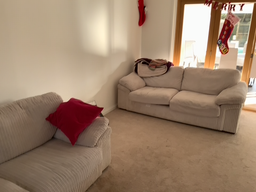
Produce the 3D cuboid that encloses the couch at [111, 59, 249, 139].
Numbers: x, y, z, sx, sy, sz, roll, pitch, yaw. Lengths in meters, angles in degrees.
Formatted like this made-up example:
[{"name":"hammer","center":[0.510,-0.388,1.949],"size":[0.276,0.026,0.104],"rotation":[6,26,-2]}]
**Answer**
[{"name":"couch","center":[0.890,-0.090,3.840],"size":[2.150,0.820,1.030],"rotation":[11,21,27]}]
